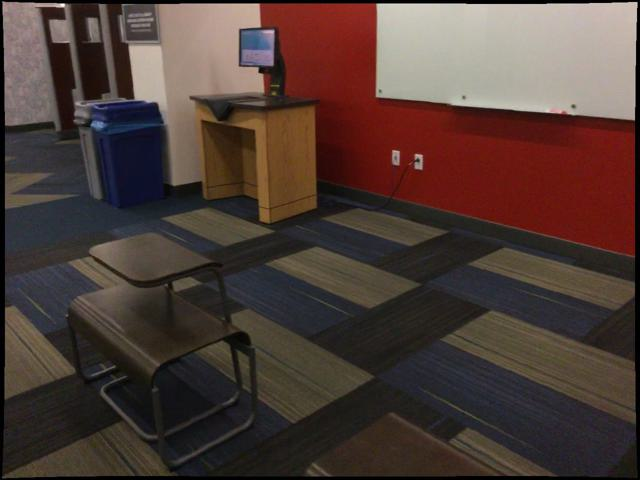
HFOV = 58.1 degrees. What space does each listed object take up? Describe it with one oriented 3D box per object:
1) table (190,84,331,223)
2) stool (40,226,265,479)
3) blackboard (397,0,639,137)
[{"bbox_3d":[-0.449,-0.712,4.460,0.849,0.912,0.639,15,24,41],"label":"table"},{"bbox_3d":[-0.648,0.381,2.230,0.459,0.662,0.759,-18,24,-42],"label":"stool"},{"bbox_3d":[1.366,-1.163,3.400,2.007,0.982,0.290,15,24,41],"label":"blackboard"}]
